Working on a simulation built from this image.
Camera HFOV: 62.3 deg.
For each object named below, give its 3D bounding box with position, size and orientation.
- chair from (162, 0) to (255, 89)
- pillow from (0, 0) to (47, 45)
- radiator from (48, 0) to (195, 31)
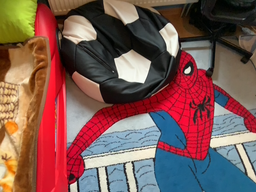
[{"bbox_3d":[0.710,-0.650,1.400,0.660,1.030,0.620,16,62,5],"label":"chair"},{"bbox_3d":[-0.730,-0.530,1.310,0.370,0.180,0.400,-4,62,-6],"label":"pillow"},{"bbox_3d":[-0.030,-0.800,1.680,1.130,0.460,0.190,-7,62,-7],"label":"radiator"}]
